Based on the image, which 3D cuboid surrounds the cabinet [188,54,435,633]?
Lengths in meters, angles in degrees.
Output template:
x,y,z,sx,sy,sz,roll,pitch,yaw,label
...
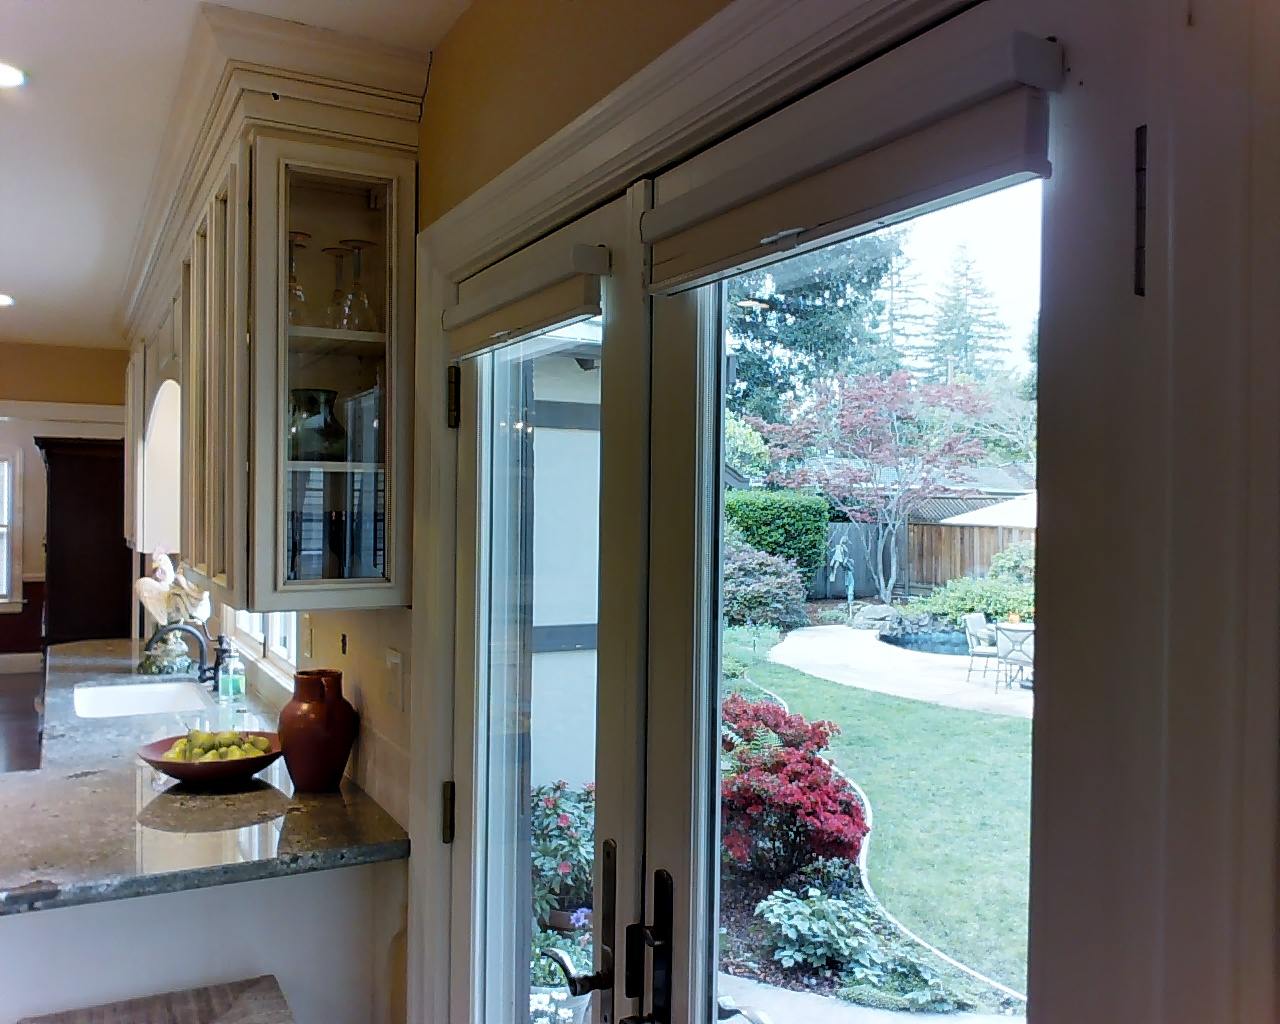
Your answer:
x,y,z,sx,sy,sz,roll,pitch,yaw,label
-0.790,-0.300,2.440,0.320,1.020,1.060,0,0,-29,cabinet
